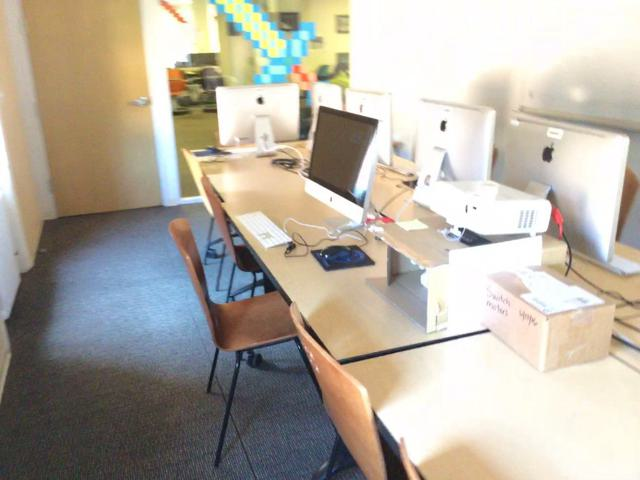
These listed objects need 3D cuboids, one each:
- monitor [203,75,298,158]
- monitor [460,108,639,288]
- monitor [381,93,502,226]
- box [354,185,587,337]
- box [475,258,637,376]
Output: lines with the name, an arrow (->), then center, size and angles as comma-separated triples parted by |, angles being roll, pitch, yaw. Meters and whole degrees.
monitor -> -0.420, -0.770, 3.560 | 0.520, 0.440, 0.190 | -9, 22, -20
monitor -> 0.680, -0.160, 1.810 | 0.170, 0.420, 0.540 | -9, 22, -20
monitor -> 0.470, -0.350, 2.360 | 0.220, 0.430, 0.510 | -9, 22, -20
box -> 0.400, 0.030, 1.650 | 0.460, 0.220, 0.440 | -9, 22, -20
box -> 0.550, 0.170, 1.380 | 0.230, 0.140, 0.260 | -9, 22, -20
